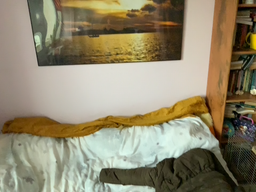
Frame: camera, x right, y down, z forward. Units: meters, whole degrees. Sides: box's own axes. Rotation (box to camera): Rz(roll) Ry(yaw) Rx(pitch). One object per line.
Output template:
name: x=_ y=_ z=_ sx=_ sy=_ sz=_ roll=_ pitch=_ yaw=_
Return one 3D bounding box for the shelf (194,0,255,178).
shelf: x=0.900 y=-0.150 z=1.830 sx=0.420 sy=1.910 sz=0.230 roll=-3 pitch=21 yaw=-4
